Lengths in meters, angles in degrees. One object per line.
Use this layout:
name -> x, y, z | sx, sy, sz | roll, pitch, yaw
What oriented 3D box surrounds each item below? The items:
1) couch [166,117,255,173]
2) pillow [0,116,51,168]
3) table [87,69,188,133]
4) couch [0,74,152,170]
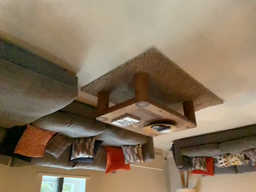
couch -> 2.050, 1.170, 4.610 | 2.050, 0.760, 1.180 | -22, 148, 37
pillow -> -1.430, 0.610, 2.910 | 0.150, 0.450, 0.570 | -22, -173, 38
table -> 0.150, 0.150, 2.860 | 0.790, 0.360, 1.110 | -22, 148, 37
couch -> -1.090, 0.580, 3.260 | 1.130, 0.760, 3.120 | -24, 147, 39
